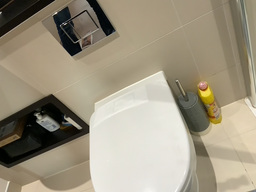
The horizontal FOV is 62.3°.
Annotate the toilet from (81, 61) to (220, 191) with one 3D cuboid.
[{"bbox_3d":[0.100,0.250,0.870,0.370,0.450,0.530,-25,43,14],"label":"toilet"}]
